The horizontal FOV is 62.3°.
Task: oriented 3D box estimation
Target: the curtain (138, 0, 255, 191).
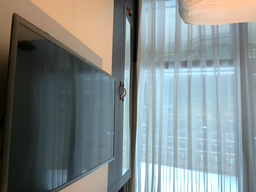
[{"bbox_3d":[0.990,-0.020,2.260,1.750,2.390,0.110,0,174,14],"label":"curtain"}]
